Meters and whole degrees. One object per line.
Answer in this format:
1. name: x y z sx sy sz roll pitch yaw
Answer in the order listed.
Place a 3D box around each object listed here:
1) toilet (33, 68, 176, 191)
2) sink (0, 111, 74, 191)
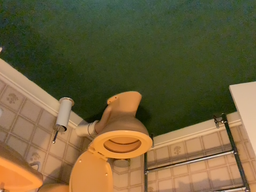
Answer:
1. toilet: -0.130 0.460 1.550 0.710 0.970 0.610 -23 133 25
2. sink: -0.650 0.280 1.020 0.420 0.180 0.620 -23 133 26
